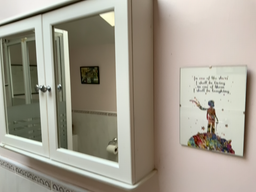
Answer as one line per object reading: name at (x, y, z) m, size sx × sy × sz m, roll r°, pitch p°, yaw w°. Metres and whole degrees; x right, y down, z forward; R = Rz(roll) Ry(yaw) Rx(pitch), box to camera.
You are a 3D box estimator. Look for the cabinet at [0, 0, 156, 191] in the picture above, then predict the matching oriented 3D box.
cabinet at (-0.250, -0.030, 0.750) m, size 0.710 × 0.530 × 0.130 m, roll 3°, pitch 6°, yaw 34°
